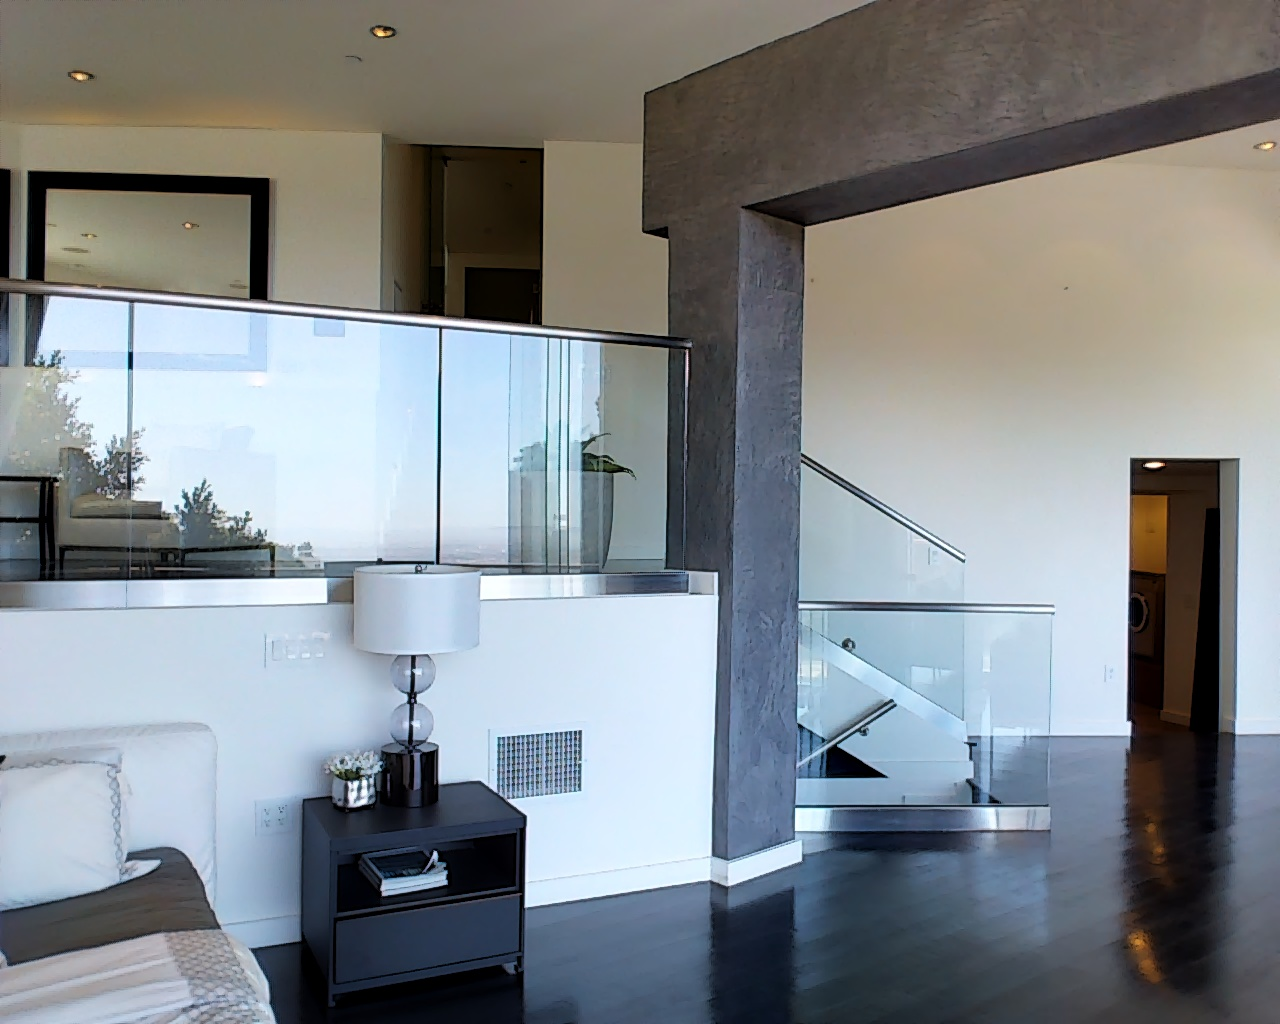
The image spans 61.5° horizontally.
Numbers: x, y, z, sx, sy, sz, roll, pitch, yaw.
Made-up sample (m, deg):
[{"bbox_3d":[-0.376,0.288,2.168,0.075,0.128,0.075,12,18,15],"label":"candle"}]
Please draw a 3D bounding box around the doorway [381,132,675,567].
[{"bbox_3d":[-0.710,-1.020,6.920,1.840,2.730,0.130,1,0,-5],"label":"doorway"}]

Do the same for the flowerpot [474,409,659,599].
[{"bbox_3d":[-0.340,-0.030,4.710,0.660,0.760,0.650,1,0,-18],"label":"flowerpot"}]
